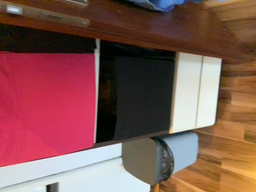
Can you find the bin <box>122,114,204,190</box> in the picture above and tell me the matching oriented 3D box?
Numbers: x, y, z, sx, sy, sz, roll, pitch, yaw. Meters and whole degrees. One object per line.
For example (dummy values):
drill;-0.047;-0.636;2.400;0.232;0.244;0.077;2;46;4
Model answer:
bin;0.230;0.320;1.370;0.280;0.440;0.330;11;99;49
